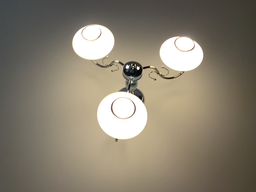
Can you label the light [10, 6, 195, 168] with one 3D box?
[{"bbox_3d":[-0.060,-0.040,0.900,0.360,0.540,0.440,98,9,-55],"label":"light"}]
